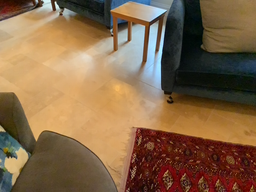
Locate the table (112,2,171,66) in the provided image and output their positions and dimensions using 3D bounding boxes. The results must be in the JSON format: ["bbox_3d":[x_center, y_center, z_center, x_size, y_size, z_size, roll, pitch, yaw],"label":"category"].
[{"bbox_3d":[0.140,-0.720,2.420,0.490,0.480,0.400,25,47,24],"label":"table"}]
